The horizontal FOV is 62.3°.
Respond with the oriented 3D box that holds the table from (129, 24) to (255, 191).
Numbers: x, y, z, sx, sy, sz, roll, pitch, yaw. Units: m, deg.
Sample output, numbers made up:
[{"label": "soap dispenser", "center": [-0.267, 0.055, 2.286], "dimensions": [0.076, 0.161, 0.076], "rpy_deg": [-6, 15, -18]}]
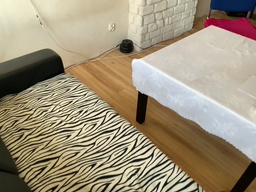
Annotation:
[{"label": "table", "center": [0.680, 0.010, 1.580], "dimensions": [0.950, 0.590, 0.930], "rpy_deg": [-29, 49, -32]}]
